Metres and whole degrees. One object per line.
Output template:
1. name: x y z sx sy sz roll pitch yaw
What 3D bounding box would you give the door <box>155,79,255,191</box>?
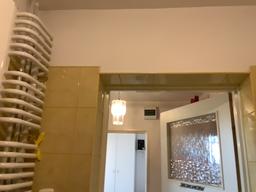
1. door: 0.510 1.000 1.440 0.140 2.010 1.030 9 -17 -22
